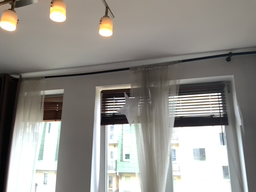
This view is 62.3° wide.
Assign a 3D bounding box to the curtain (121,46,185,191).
[{"bbox_3d":[0.230,0.460,2.020,0.540,1.860,0.230,-5,-16,19],"label":"curtain"}]

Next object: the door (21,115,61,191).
[{"bbox_3d":[-1.200,0.880,2.970,0.410,1.180,0.210,5,-16,-18],"label":"door"}]
